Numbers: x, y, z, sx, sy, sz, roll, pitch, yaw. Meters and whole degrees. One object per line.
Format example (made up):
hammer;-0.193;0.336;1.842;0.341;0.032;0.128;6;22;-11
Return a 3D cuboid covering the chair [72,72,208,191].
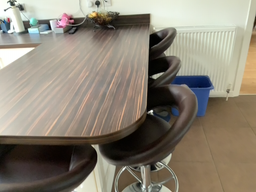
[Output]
chair;0.090;0.370;1.190;0.480;0.860;0.530;1;30;8

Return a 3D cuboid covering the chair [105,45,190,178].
chair;0.160;0.110;1.640;0.480;0.860;0.520;1;30;8
